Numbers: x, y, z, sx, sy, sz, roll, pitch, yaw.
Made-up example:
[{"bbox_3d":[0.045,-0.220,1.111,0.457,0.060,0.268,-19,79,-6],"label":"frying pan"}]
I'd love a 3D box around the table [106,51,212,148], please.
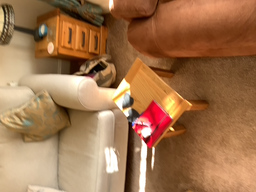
[{"bbox_3d":[0.210,0.020,1.500,0.390,0.410,0.480,-53,59,26],"label":"table"}]

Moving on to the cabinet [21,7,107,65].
[{"bbox_3d":[-0.650,-0.550,2.150,0.680,0.550,0.350,1,89,40],"label":"cabinet"}]

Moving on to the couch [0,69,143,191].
[{"bbox_3d":[-0.690,0.880,1.900,1.130,0.940,2.130,7,93,40],"label":"couch"}]
